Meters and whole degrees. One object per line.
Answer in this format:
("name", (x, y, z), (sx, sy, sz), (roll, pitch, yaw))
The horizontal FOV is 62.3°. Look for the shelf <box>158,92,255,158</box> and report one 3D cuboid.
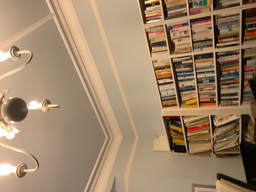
("shelf", (1.540, 0.420, 2.990), (0.440, 2.050, 0.830), (-70, -31, -50))
